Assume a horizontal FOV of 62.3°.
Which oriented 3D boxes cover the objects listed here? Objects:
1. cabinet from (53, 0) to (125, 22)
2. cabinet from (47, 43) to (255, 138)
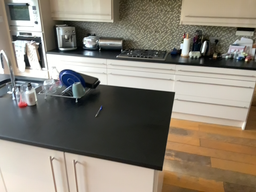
[{"bbox_3d":[-0.580,-1.550,3.110,1.020,0.800,0.340,9,25,16],"label":"cabinet"},{"bbox_3d":[0.250,-0.190,3.260,2.930,0.900,0.610,9,25,16],"label":"cabinet"}]
